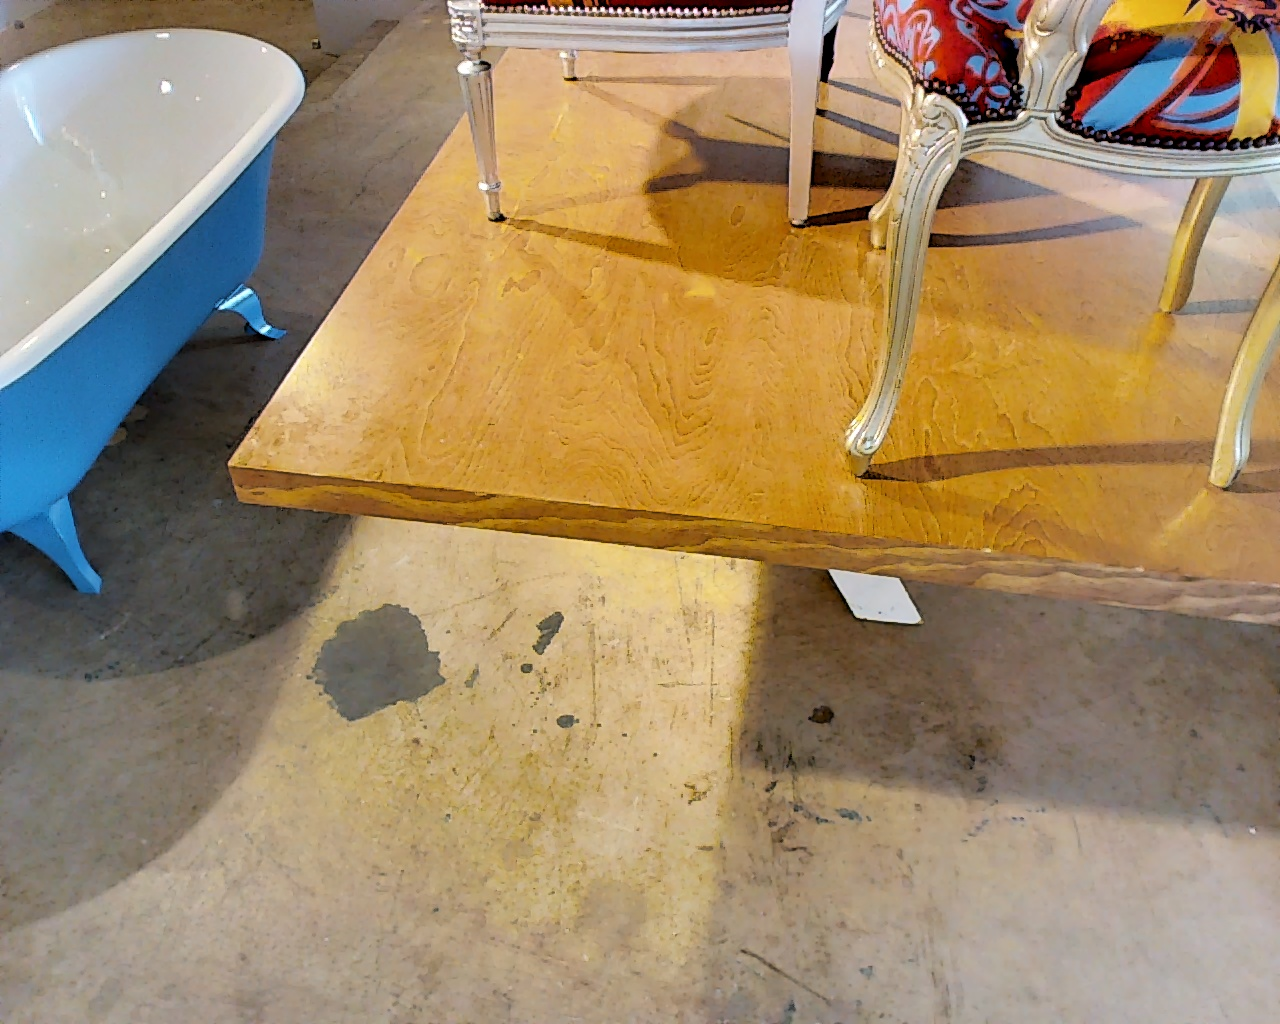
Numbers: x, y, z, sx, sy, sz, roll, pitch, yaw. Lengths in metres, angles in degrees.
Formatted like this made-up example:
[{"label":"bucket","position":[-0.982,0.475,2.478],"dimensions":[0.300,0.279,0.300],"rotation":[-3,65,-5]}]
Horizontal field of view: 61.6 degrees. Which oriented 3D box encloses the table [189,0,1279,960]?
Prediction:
[{"label":"table","position":[0.370,-0.330,2.050],"dimensions":[1.470,0.760,1.860],"rotation":[6,42,7]}]
